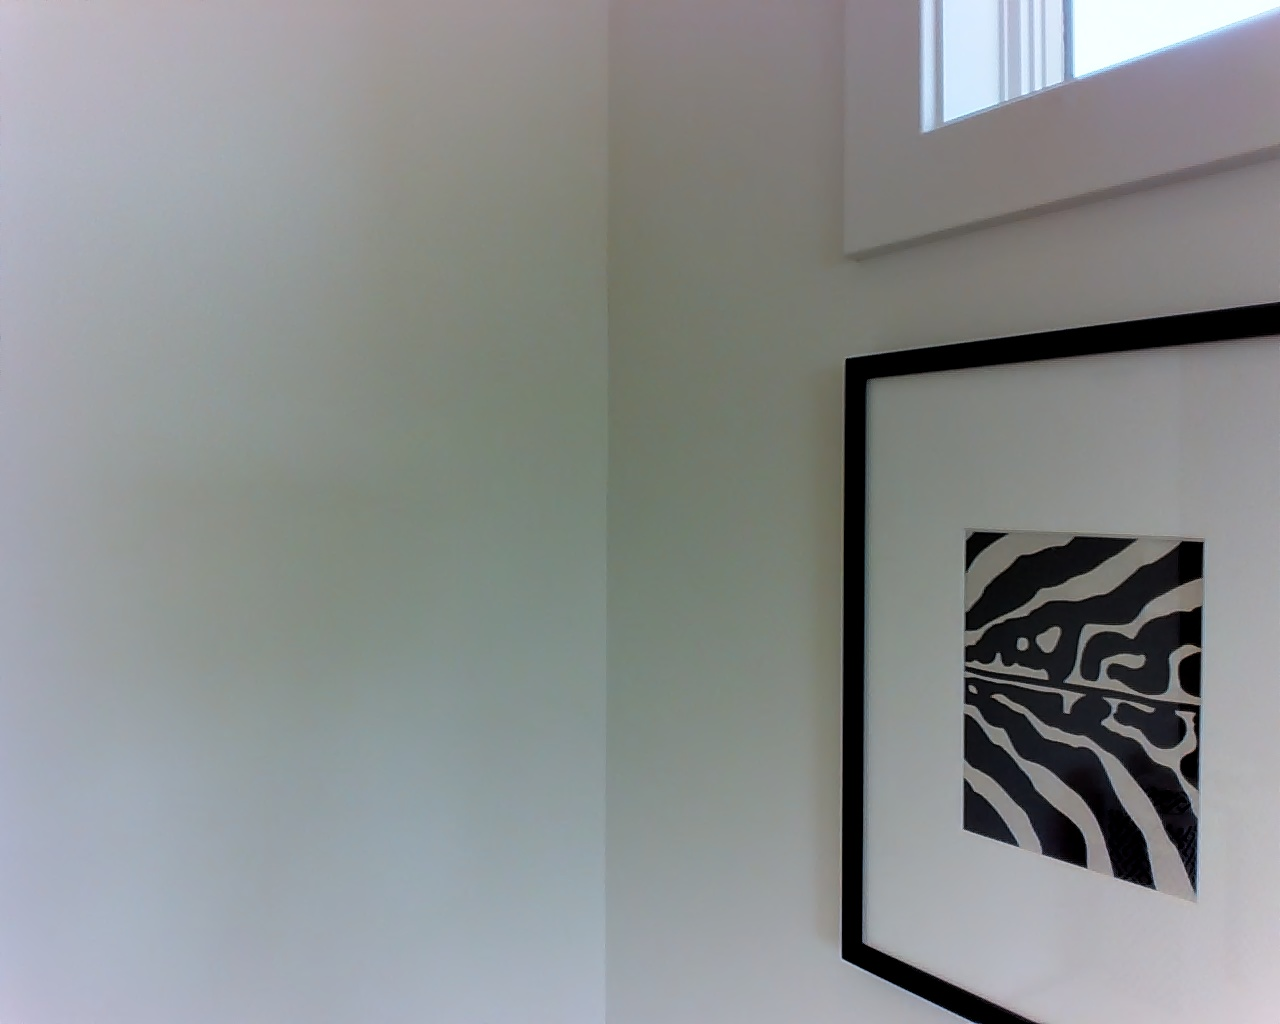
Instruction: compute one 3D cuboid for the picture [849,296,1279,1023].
[{"bbox_3d":[0.320,0.140,0.790,0.020,0.550,0.430,0,1,-35],"label":"picture"}]
